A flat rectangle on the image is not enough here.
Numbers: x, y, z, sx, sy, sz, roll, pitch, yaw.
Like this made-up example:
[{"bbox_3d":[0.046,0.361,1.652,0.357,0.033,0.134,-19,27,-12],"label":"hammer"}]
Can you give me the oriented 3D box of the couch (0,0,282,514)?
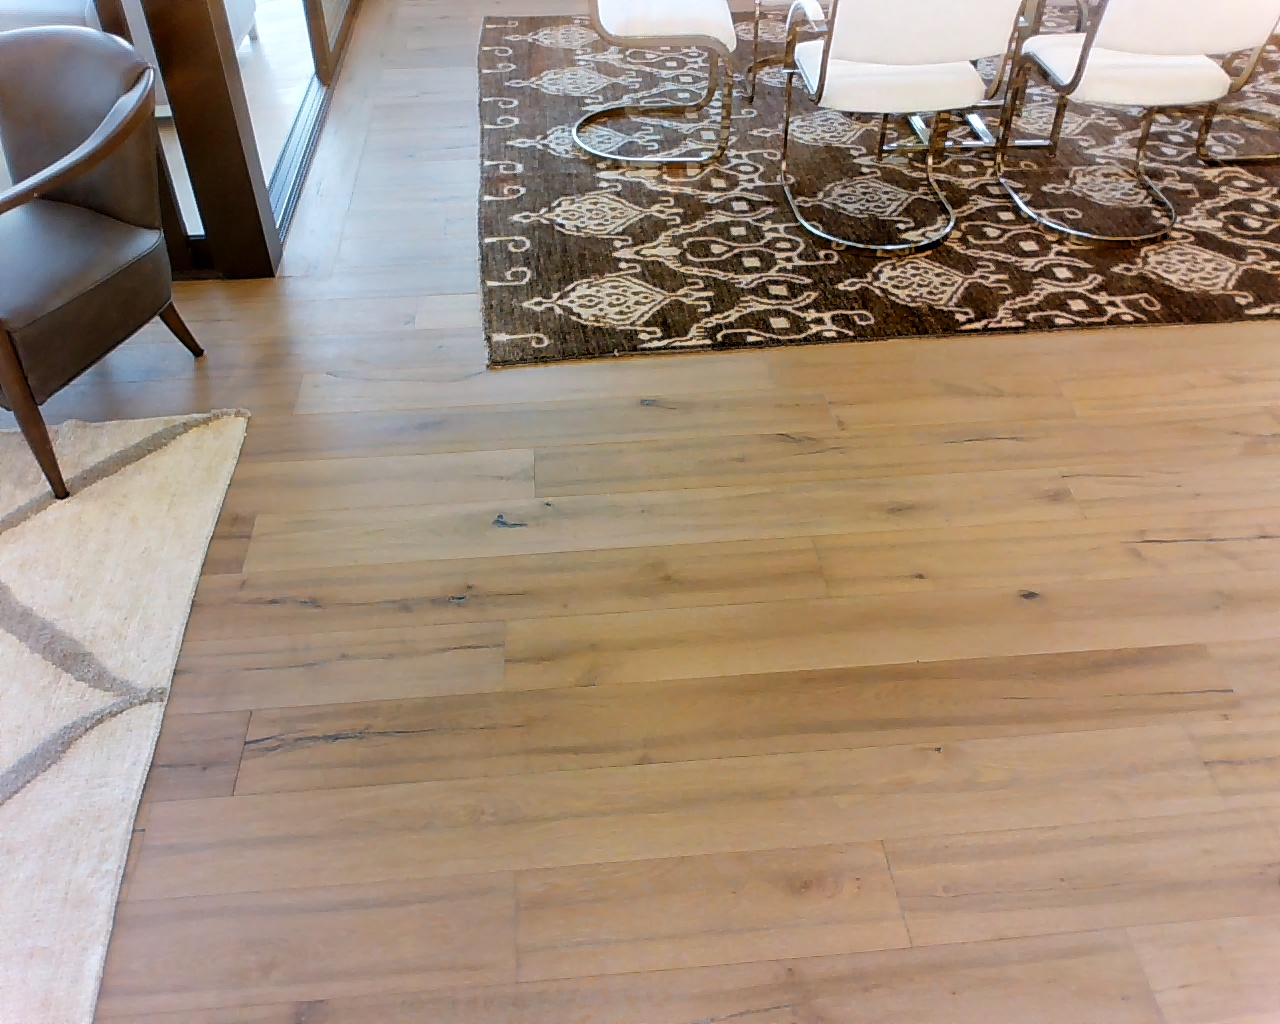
[{"bbox_3d":[-1.460,-0.640,2.490,0.700,0.800,0.840,15,44,15],"label":"couch"}]
